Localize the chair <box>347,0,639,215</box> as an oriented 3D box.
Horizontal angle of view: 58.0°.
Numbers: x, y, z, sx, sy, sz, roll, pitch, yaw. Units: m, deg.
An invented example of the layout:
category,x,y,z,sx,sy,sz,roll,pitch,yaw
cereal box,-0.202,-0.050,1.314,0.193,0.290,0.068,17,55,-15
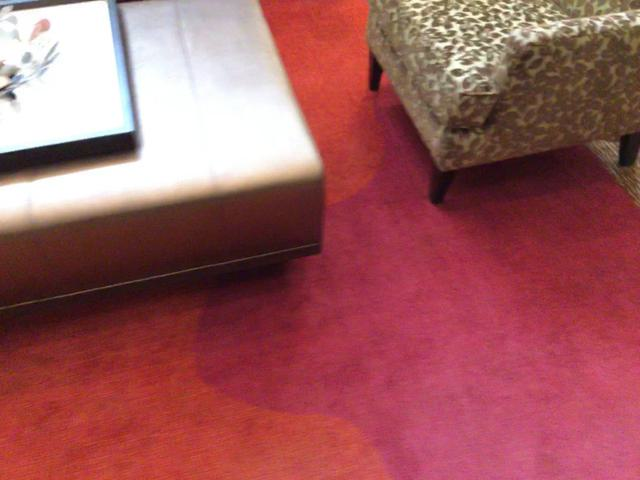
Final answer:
category,x,y,z,sx,sy,sz,roll,pitch,yaw
chair,0.660,-0.740,1.730,0.900,0.950,0.760,-10,52,-11
